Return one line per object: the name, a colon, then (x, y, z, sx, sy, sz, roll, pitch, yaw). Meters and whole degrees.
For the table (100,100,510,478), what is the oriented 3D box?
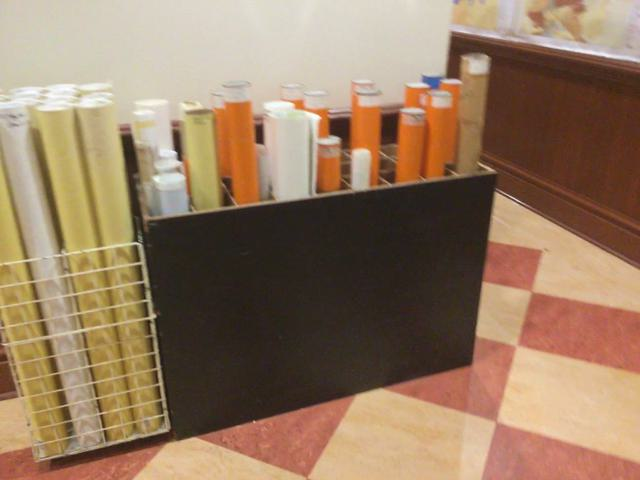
table: (-0.030, 0.090, 2.070, 1.220, 0.940, 0.560, -13, 25, -20)

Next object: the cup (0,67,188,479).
cup: (-0.780, 0.110, 1.770, 0.490, 1.150, 0.440, -13, 25, -20)

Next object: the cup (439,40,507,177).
cup: (0.490, -0.430, 1.880, 0.110, 0.400, 0.180, -13, 25, -20)

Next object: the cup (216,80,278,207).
cup: (-0.210, -0.280, 1.680, 0.120, 0.340, 0.090, -13, 25, -20)

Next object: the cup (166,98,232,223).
cup: (-0.360, -0.240, 1.720, 0.110, 0.320, 0.190, -13, 25, -20)
